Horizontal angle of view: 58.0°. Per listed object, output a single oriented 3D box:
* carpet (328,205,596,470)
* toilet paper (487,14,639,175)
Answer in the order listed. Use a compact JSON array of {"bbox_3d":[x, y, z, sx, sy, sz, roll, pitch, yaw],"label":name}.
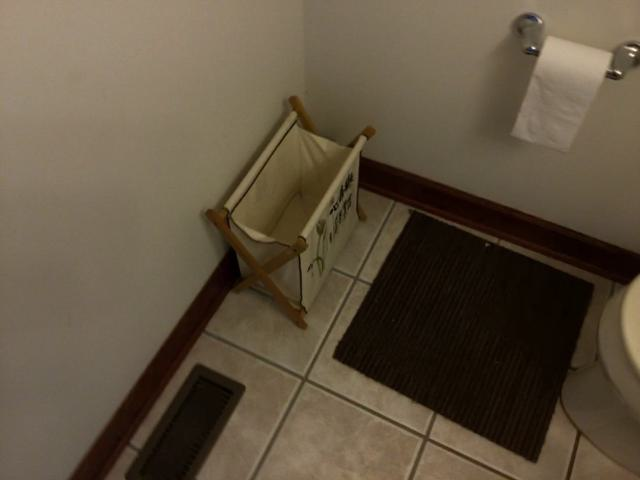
[{"bbox_3d":[0.360,0.200,1.420,0.510,0.040,0.510,22,59,14],"label":"carpet"},{"bbox_3d":[0.450,-0.270,1.100,0.180,0.240,0.110,22,59,14],"label":"toilet paper"}]
